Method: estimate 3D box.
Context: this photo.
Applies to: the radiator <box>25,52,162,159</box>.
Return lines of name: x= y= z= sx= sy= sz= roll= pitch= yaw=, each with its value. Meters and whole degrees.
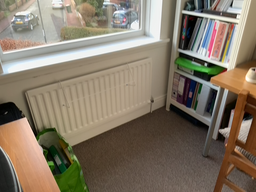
radiator: x=-0.200 y=0.050 z=1.950 sx=1.230 sy=0.680 sz=0.080 roll=-19 pitch=35 yaw=-29

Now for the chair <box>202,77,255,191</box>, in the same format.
chair: x=0.810 y=0.360 z=1.220 sx=0.510 sy=0.860 sz=0.420 roll=-23 pitch=37 yaw=-33

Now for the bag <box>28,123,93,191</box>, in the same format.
bag: x=-0.490 y=0.500 z=1.530 sx=0.260 sy=0.320 sz=0.510 roll=-19 pitch=35 yaw=-28
